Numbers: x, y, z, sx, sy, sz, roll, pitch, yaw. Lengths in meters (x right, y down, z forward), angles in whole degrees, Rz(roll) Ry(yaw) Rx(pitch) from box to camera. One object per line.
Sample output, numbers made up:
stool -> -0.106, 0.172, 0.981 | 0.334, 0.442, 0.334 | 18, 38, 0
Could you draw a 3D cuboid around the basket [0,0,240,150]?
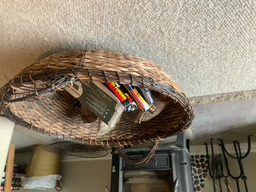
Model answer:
basket -> -0.090, 0.010, 0.810 | 0.740, 0.190, 0.620 | 19, 149, -32
